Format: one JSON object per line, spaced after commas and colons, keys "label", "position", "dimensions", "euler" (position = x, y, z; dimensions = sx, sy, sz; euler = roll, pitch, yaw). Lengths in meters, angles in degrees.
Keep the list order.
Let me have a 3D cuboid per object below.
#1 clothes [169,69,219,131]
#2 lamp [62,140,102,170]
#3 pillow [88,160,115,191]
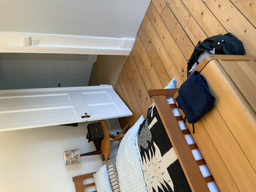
{"label": "clothes", "position": [0.430, 0.030, 1.440], "dimensions": [0.270, 0.060, 0.320], "euler": [-57, 44, 51]}
{"label": "lamp", "position": [-0.690, 0.880, 3.170], "dimensions": [0.340, 0.500, 0.250], "euler": [-59, 43, 49]}
{"label": "pillow", "position": [-0.340, 1.280, 2.860], "dimensions": [0.430, 0.170, 0.660], "euler": [-62, 40, 47]}
